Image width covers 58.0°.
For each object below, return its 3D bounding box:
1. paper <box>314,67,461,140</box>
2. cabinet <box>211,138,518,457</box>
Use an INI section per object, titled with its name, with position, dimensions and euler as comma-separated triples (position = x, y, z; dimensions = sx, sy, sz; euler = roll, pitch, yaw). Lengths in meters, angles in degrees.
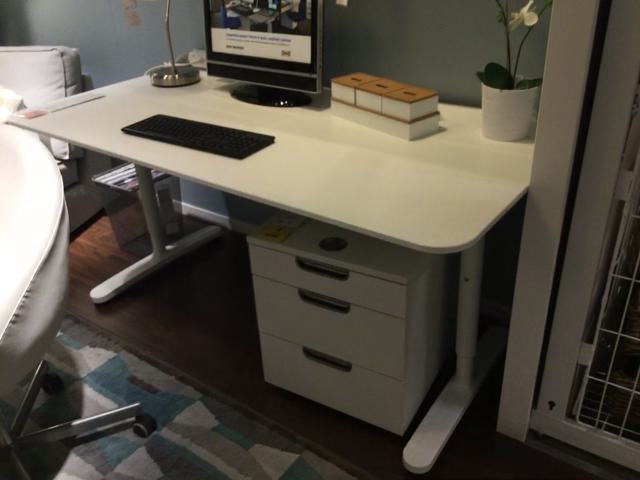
[paper]
position = 0.180, -0.400, 1.650
dimensions = 0.170, 0.110, 0.400
euler = -25, 35, -35
[cabinet]
position = 0.170, 0.100, 1.800
dimensions = 0.580, 0.560, 0.750
euler = 16, 33, 32
